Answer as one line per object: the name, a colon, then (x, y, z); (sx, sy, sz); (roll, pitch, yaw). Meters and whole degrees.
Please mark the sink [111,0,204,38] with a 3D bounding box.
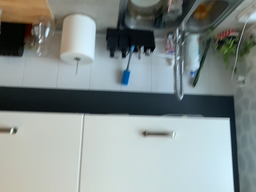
sink: (0.140, -0.550, 1.190); (0.430, 0.200, 0.500); (2, 170, -8)
